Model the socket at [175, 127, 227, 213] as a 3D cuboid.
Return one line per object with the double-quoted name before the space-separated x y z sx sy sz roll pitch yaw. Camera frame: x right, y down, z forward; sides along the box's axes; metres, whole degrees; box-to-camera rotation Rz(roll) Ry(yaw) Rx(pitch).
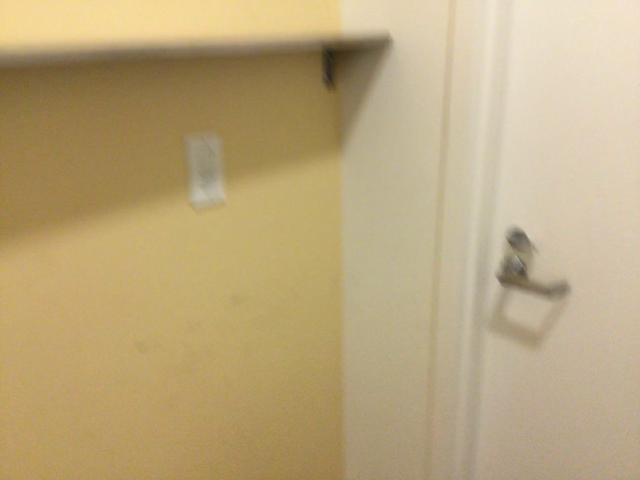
"socket" -0.200 -0.120 0.980 0.010 0.130 0.080 14 27 39
